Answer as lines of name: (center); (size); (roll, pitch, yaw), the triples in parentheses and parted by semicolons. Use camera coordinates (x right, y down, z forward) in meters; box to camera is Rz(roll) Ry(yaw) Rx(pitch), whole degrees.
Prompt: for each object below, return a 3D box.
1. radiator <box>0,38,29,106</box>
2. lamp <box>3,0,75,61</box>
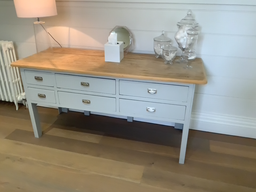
radiator: (-1.650, -0.310, 2.550); (0.800, 0.750, 0.160); (8, 25, 13)
lamp: (-0.770, -0.660, 1.920); (0.320, 0.540, 0.480); (9, 26, 15)
